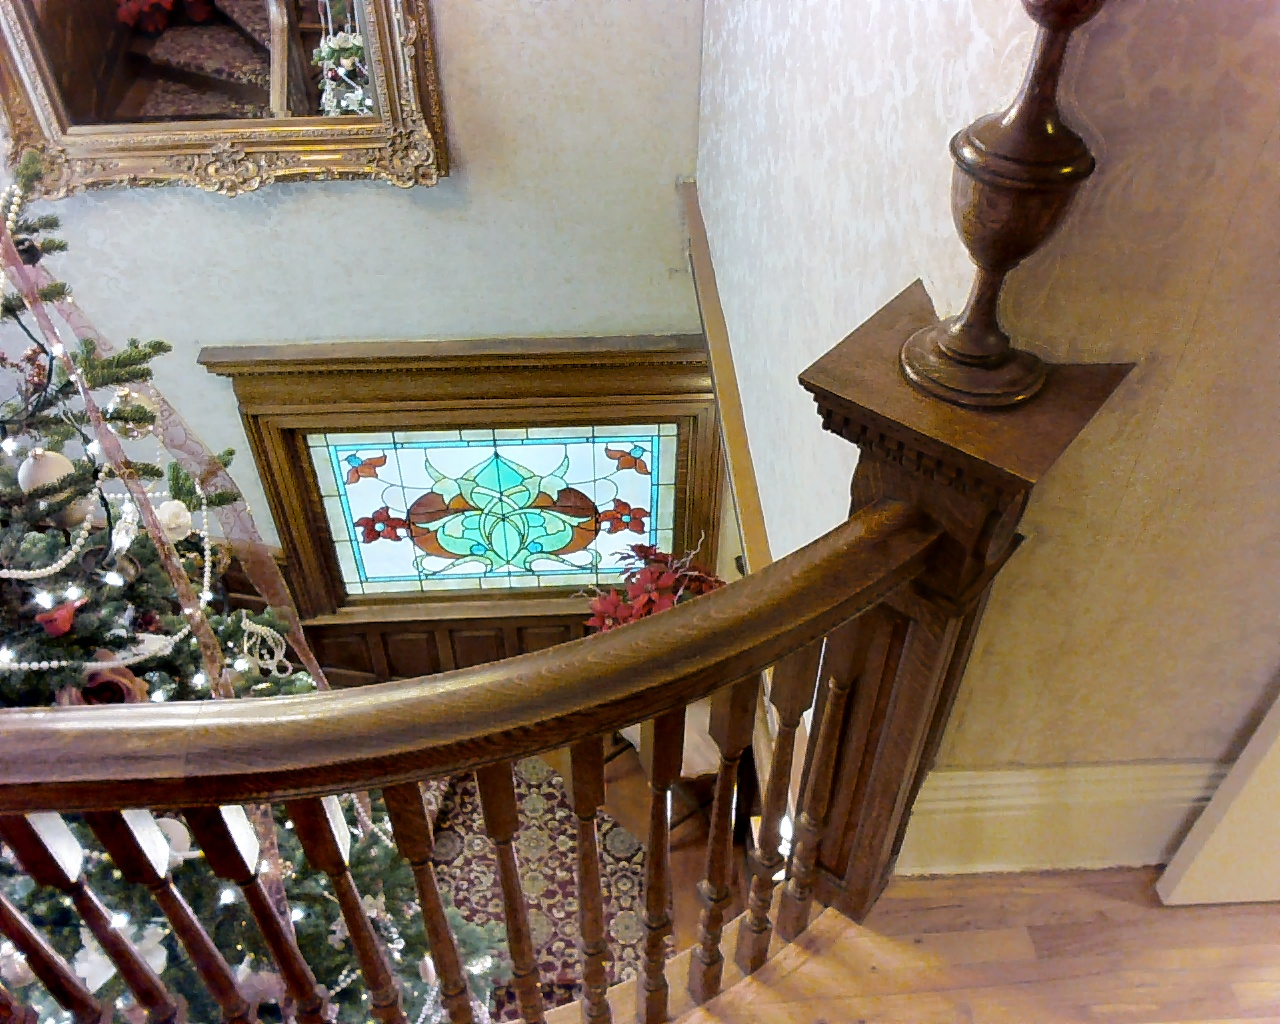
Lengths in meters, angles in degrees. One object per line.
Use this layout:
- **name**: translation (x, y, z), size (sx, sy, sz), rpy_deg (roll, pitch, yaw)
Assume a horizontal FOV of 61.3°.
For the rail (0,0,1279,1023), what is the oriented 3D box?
- **rail**: translation (-0.350, 0.190, 1.210), size (1.720, 1.560, 0.670), rpy_deg (-2, 43, -2)
